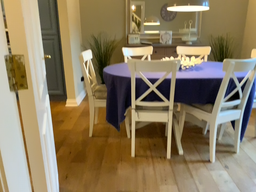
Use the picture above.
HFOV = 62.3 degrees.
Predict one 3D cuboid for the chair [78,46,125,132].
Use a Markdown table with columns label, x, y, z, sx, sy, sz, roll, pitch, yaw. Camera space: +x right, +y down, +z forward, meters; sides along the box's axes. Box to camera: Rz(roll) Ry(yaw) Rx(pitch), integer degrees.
| label | x | y | z | sx | sy | sz | roll | pitch | yaw |
| --- | --- | --- | --- | --- | --- | --- | --- | --- | --- |
| chair | -0.270 | -0.090 | 2.430 | 0.450 | 0.900 | 0.400 | -1 | 18 | -2 |

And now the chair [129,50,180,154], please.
| label | x | y | z | sx | sy | sz | roll | pitch | yaw |
| --- | --- | --- | --- | --- | --- | --- | --- | --- | --- |
| chair | 0.230 | 0.040 | 2.040 | 0.400 | 0.890 | 0.450 | 1 | 18 | 4 |
